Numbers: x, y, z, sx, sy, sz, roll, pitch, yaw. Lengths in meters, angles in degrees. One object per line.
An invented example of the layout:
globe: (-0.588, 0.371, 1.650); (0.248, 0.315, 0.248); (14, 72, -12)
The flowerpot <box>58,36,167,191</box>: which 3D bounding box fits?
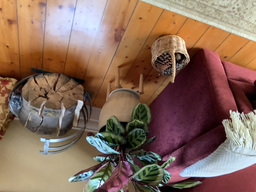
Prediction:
flowerpot: (-0.150, 0.280, 1.350); (0.400, 0.980, 0.750); (13, 144, -17)
